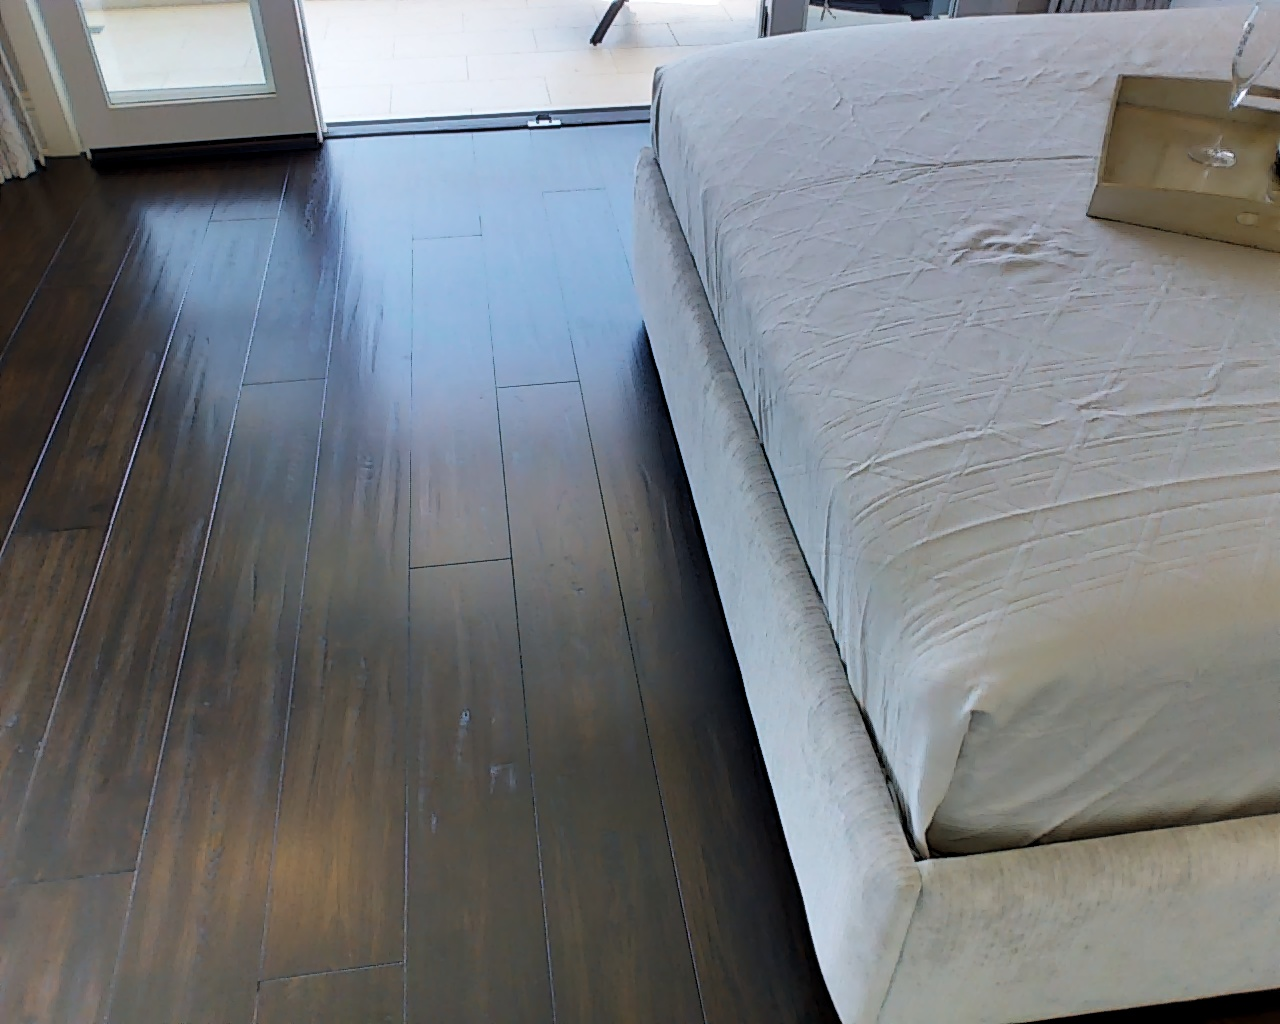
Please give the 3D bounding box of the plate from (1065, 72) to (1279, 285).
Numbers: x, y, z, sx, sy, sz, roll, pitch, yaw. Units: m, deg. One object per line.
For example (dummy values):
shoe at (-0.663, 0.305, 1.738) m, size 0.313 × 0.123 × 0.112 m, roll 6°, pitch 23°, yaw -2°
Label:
plate at (1.060, -0.550, 1.770) m, size 0.620 × 0.080 × 0.610 m, roll 14°, pitch 43°, yaw 16°
